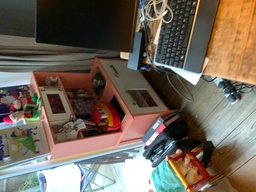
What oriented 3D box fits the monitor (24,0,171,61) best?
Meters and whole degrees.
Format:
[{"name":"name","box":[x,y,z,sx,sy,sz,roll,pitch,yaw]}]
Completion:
[{"name":"monitor","box":[-0.020,-0.420,0.650,0.030,0.470,0.540,23,103,49]}]
